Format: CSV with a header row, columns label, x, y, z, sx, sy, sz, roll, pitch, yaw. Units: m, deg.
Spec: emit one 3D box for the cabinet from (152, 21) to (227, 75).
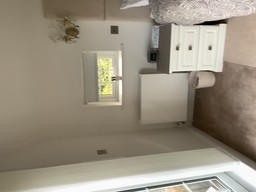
label,x,y,z,sx,sy,sz,roll,pitch,yaw
cabinet,0.630,-0.520,2.320,0.510,0.580,0.500,-139,48,-71
